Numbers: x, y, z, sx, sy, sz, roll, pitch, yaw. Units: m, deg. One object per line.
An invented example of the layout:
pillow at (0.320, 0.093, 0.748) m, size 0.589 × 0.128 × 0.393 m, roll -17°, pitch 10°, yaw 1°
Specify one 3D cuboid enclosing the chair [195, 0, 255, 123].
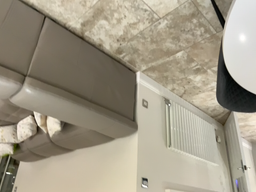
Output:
chair at (0.880, -0.330, 1.440) m, size 0.600 × 0.810 × 0.470 m, roll -19°, pitch 145°, yaw 35°
